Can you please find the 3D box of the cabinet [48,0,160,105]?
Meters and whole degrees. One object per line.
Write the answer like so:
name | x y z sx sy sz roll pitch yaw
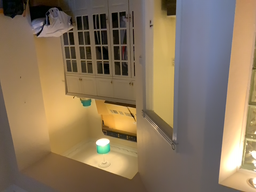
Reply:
cabinet | -0.450 -1.130 3.850 1.950 2.250 0.620 8 -161 29
